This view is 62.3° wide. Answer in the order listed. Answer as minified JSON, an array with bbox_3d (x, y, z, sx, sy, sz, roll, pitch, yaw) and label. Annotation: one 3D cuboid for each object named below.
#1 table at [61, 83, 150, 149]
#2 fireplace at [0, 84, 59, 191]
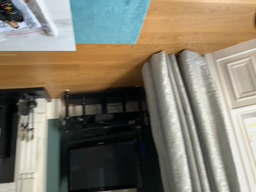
[{"bbox_3d":[-0.280,0.310,2.930,1.070,0.670,0.600,-7,161,4],"label":"table"},{"bbox_3d":[-1.780,0.680,2.500,1.710,1.350,0.880,-2,160,-9],"label":"fireplace"}]
